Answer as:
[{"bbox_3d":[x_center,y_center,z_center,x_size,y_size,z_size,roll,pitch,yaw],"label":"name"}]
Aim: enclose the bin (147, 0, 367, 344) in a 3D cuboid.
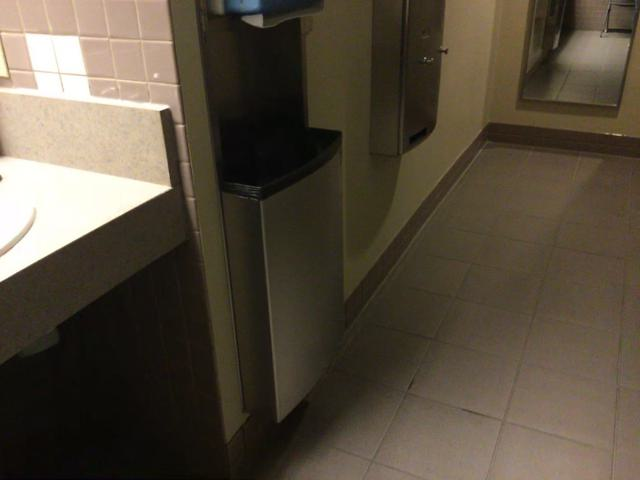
[{"bbox_3d":[-0.100,-0.190,1.430,0.230,0.710,0.470,8,30,26],"label":"bin"}]
